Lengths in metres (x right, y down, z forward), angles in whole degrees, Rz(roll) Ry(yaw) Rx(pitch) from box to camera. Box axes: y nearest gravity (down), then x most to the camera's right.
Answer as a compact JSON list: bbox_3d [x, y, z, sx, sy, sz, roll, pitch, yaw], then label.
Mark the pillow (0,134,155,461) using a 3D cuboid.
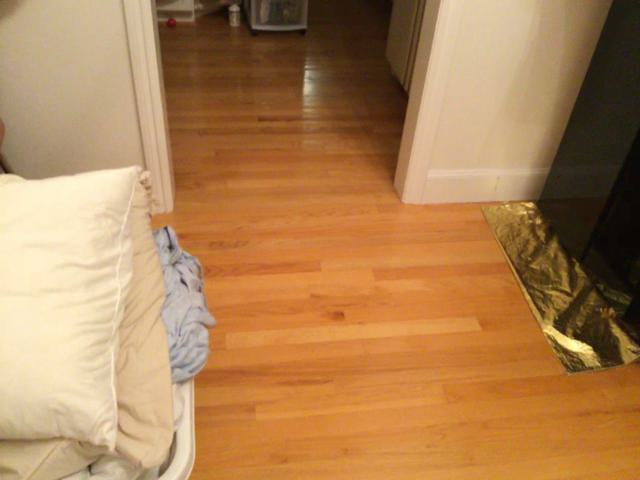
[{"bbox_3d":[-0.550,0.060,0.960,0.490,0.170,0.590,-5,40,-9],"label":"pillow"}]
